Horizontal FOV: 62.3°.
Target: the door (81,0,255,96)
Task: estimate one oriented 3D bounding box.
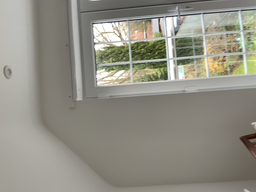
[{"bbox_3d":[0.580,-0.780,1.990,0.050,2.030,1.430,16,-110,-88],"label":"door"}]
